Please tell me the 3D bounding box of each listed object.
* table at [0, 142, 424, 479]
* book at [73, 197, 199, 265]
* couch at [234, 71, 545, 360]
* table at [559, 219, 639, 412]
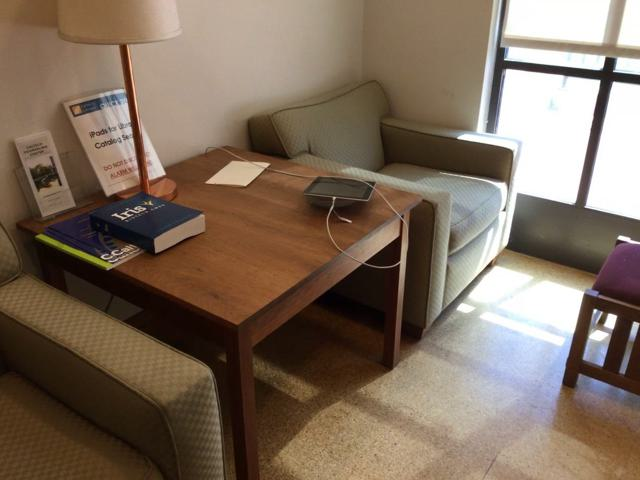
[{"bbox_3d":[-0.270,0.200,1.750,0.830,0.700,0.850,16,31,33],"label":"table"},{"bbox_3d":[-0.470,-0.030,1.480,0.260,0.060,0.180,16,31,33],"label":"book"},{"bbox_3d":[0.310,-0.200,2.390,0.840,0.780,0.920,16,31,33],"label":"couch"},{"bbox_3d":[1.080,0.240,1.840,0.420,0.390,0.510,15,31,33],"label":"table"}]
